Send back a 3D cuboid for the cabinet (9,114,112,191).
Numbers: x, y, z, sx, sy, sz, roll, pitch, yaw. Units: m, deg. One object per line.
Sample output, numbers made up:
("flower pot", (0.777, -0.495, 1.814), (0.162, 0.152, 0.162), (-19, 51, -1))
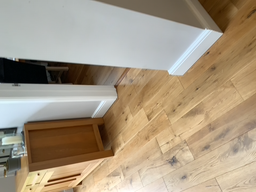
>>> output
("cabinet", (-0.930, 0.800, 2.690), (1.290, 0.880, 0.520), (-49, 52, 44))
